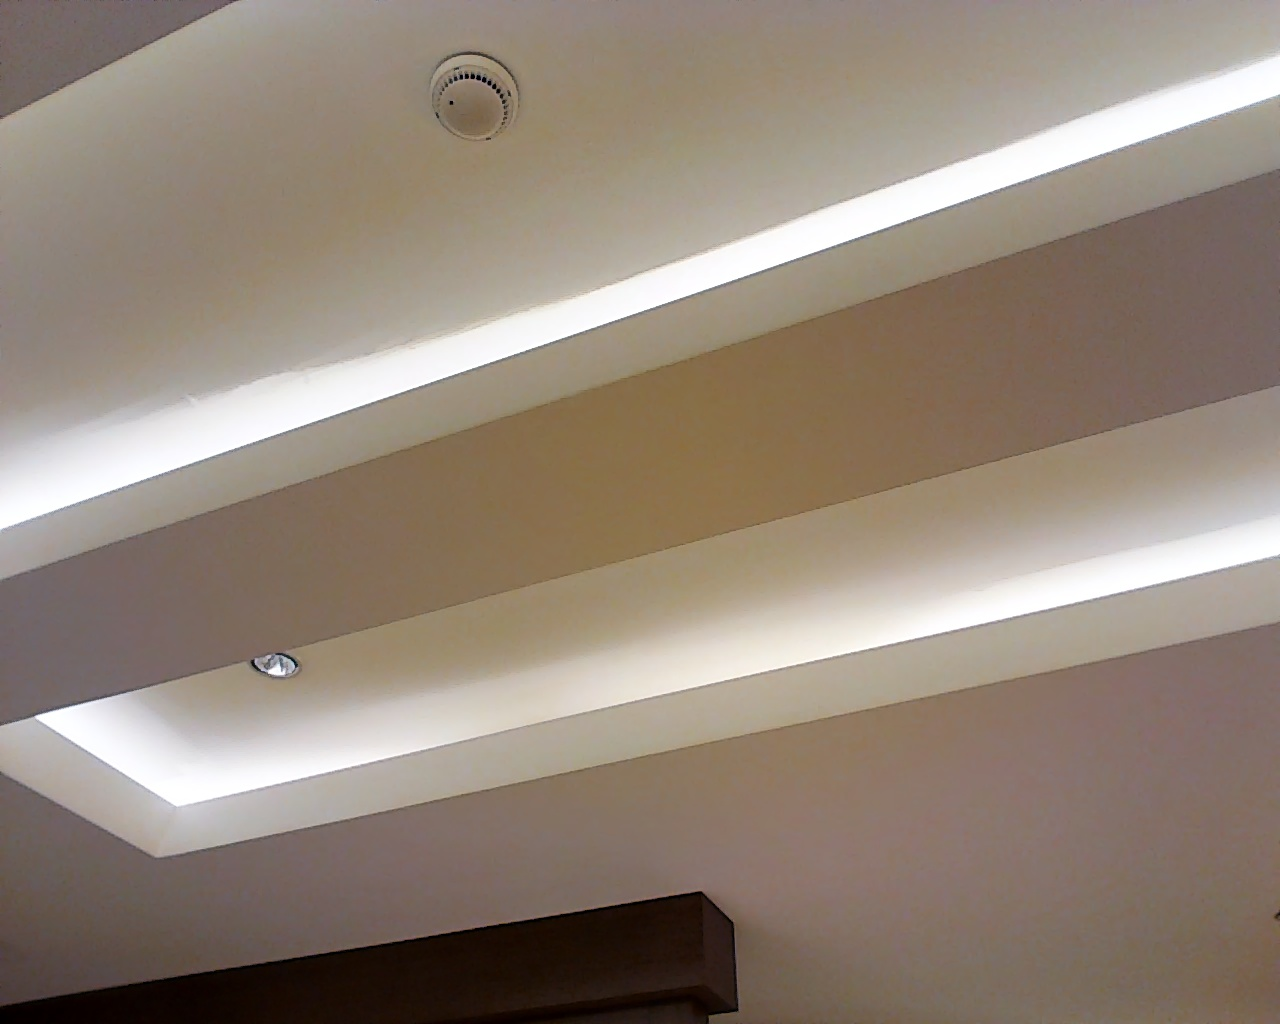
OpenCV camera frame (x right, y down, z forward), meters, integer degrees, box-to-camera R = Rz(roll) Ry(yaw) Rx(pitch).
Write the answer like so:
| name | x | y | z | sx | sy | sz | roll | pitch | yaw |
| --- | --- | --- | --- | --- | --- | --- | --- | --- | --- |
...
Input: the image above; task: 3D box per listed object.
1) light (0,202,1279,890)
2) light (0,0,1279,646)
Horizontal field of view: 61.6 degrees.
| name | x | y | z | sx | sy | sz | roll | pitch | yaw |
| --- | --- | --- | --- | --- | --- | --- | --- | --- | --- |
| light | 0.130 | 0.150 | 1.760 | 2.959 | 0.210 | 0.730 | -16 | -44 | 17 |
| light | -0.200 | -0.360 | 1.180 | 2.979 | 0.230 | 0.730 | -15 | -44 | 17 |
